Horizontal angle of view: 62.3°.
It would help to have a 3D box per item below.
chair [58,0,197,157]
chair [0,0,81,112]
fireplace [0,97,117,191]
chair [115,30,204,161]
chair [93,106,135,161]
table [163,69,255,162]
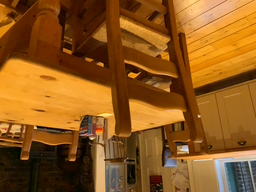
[{"bbox_3d":[-0.030,-0.210,1.180,0.480,1.020,0.460,12,156,-35],"label":"chair"},{"bbox_3d":[-0.620,-0.370,1.120,0.530,0.740,0.510,-20,154,41],"label":"chair"},{"bbox_3d":[-1.390,1.290,3.770,2.130,1.970,1.140,14,155,-38],"label":"fireplace"},{"bbox_3d":[0.220,0.040,1.810,0.480,0.960,0.480,8,158,-27],"label":"chair"},{"bbox_3d":[-0.250,0.710,3.860,0.500,0.870,0.550,-16,156,34],"label":"chair"},{"bbox_3d":[1.620,0.310,2.750,0.950,0.930,2.090,15,155,-39],"label":"table"}]
